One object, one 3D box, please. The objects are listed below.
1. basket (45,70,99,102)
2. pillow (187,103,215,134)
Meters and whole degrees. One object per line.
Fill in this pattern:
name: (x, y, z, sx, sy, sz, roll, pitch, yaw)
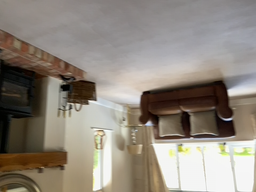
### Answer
basket: (-0.840, -0.130, 3.280, 0.590, 0.290, 0.540, -7, 166, 23)
pillow: (1.300, 0.410, 3.790, 0.410, 0.490, 0.200, -7, 166, 23)
